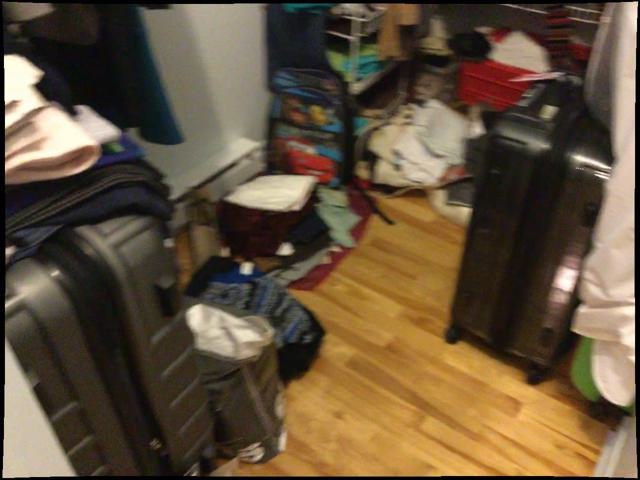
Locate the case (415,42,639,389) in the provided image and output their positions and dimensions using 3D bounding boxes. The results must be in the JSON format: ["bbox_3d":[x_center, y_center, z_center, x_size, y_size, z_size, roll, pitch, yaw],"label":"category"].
[{"bbox_3d":[0.539,-0.060,1.440,0.360,0.650,0.440,26,47,26],"label":"case"}]

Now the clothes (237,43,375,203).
[{"bbox_3d":[-0.050,-0.410,2.010,0.390,0.390,0.230,26,47,26],"label":"clothes"}]
